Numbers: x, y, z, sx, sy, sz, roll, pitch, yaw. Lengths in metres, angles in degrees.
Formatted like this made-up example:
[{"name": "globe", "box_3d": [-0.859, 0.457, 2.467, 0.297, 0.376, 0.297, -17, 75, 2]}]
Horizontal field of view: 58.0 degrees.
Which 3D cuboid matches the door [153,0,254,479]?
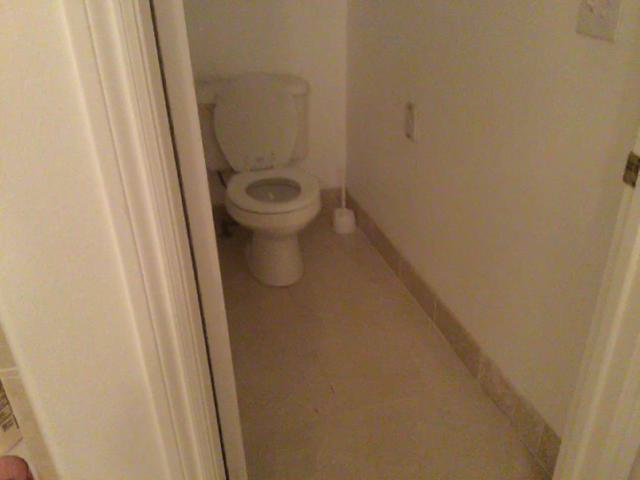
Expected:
[{"name": "door", "box_3d": [-0.160, 0.230, 0.990, 0.040, 1.240, 0.050, -9, 29, -12]}]
